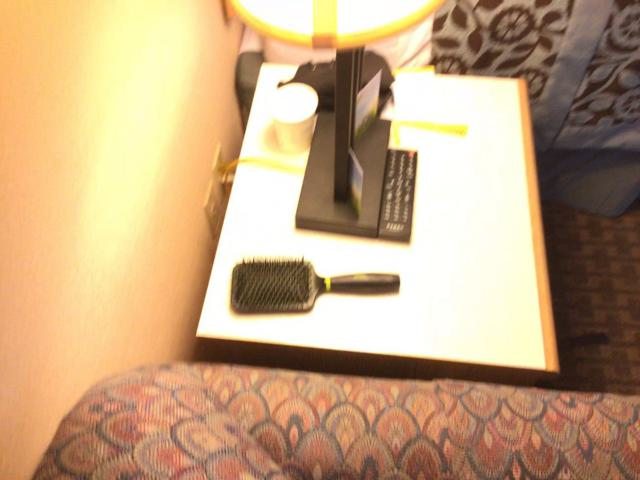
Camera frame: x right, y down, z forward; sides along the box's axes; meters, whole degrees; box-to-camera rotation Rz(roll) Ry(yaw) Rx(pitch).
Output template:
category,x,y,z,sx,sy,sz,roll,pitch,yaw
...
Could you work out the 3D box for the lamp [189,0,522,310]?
category,x,y,z,sx,sy,sz,roll,pitch,yaw
lamp,0.060,-0.280,0.640,0.230,0.690,0.450,4,60,8
